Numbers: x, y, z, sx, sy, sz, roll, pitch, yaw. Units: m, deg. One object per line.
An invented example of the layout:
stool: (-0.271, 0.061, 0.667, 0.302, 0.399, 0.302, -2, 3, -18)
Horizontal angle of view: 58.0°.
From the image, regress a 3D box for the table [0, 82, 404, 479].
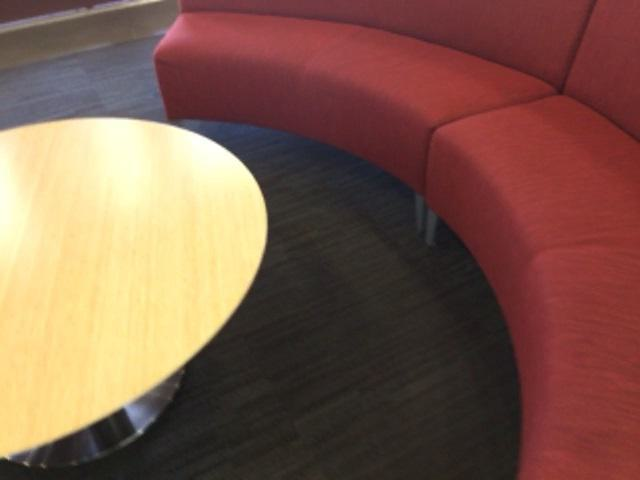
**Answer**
table: (-0.570, 0.200, 1.370, 1.040, 0.530, 1.060, -24, 46, -25)
